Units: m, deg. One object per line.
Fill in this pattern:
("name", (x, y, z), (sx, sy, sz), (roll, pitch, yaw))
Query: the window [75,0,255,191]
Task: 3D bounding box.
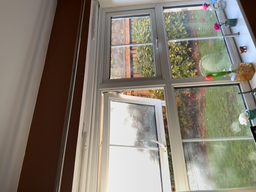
("window", (0.270, -0.090, 1.630), (0.260, 1.150, 1.690), (79, -172, -61))
